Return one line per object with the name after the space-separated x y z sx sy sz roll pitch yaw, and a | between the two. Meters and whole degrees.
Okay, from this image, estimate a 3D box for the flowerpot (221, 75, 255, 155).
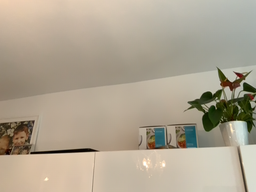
0.630 0.110 1.010 0.280 0.270 0.420 -6 -24 17 | flowerpot

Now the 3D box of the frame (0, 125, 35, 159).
-0.920 0.360 1.650 0.370 0.240 0.060 -6 -24 16 | frame
